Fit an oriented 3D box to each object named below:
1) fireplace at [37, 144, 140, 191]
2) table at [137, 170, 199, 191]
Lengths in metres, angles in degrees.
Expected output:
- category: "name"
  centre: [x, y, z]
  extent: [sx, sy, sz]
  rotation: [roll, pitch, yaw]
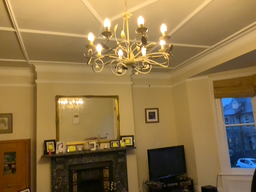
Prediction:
- category: "fireplace"
  centre: [-0.770, 1.690, 4.220]
  extent: [1.860, 1.280, 0.710]
  rotation: [0, -9, -17]
- category: "table"
  centre: [0.890, 2.040, 4.740]
  extent: [1.210, 0.530, 0.570]
  rotation: [0, -9, -17]
